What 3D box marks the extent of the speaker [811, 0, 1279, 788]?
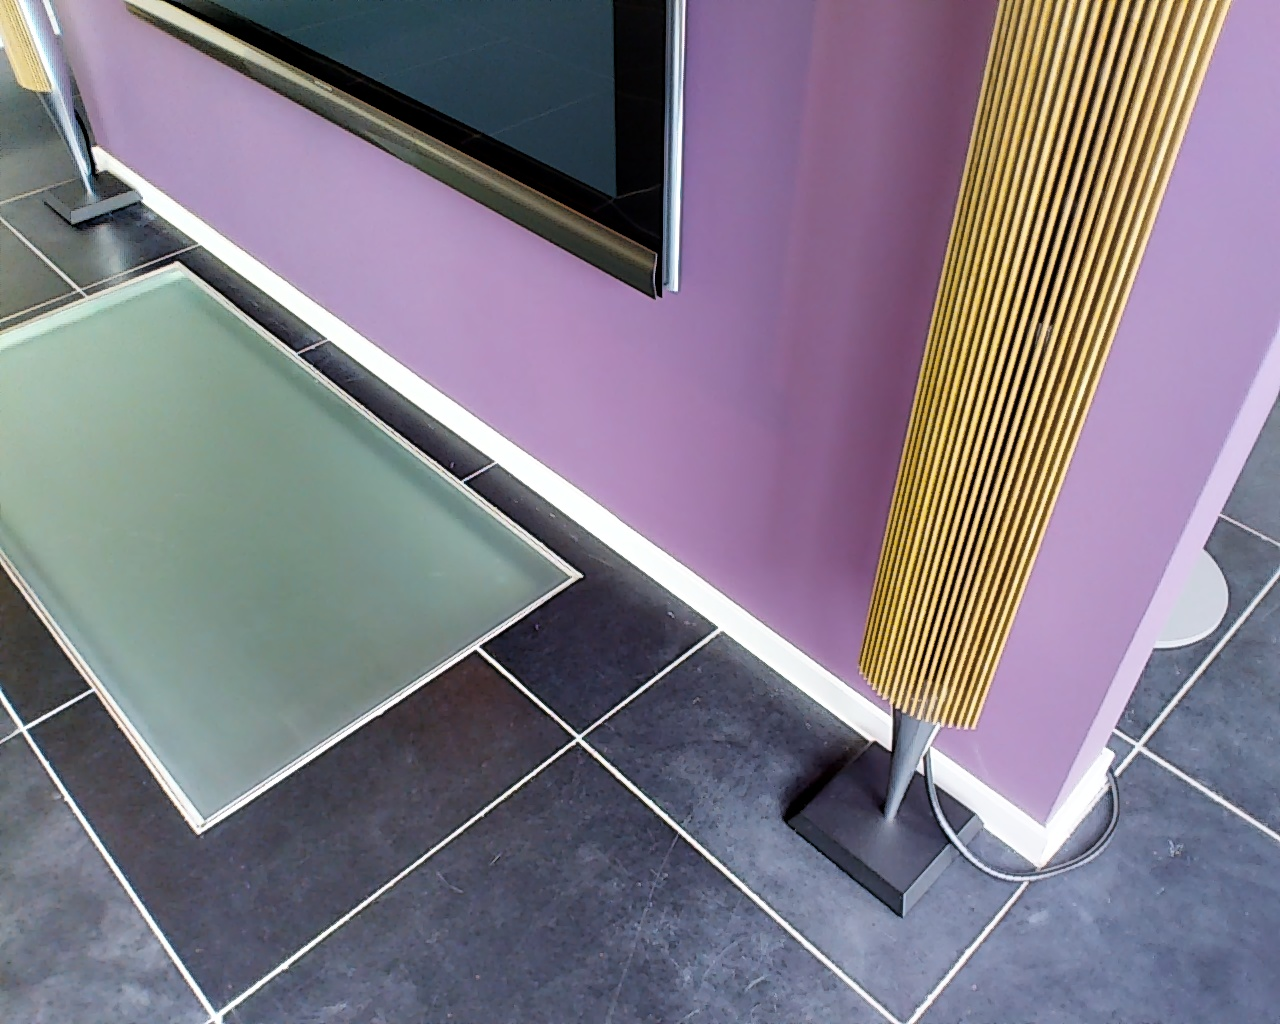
[{"bbox_3d":[0.350,-0.160,0.990,0.190,1.070,0.180,-31,51,-30],"label":"speaker"}]
